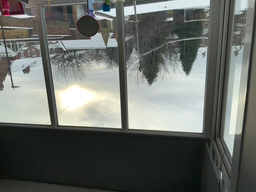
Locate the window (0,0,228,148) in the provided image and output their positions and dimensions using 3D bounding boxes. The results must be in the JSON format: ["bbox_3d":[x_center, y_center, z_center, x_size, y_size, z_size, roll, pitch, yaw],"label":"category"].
[{"bbox_3d":[-0.460,-0.260,2.160,2.580,1.410,0.340,1,-164,11],"label":"window"}]
